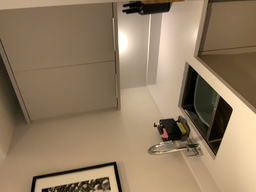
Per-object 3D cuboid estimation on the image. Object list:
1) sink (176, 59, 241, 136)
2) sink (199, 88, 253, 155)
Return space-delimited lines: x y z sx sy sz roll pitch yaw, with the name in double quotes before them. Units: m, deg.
"sink" 0.540 0.000 1.520 0.380 0.200 0.380 -111 17 -52
"sink" 0.580 0.160 1.300 0.160 0.150 0.380 -111 17 -52
